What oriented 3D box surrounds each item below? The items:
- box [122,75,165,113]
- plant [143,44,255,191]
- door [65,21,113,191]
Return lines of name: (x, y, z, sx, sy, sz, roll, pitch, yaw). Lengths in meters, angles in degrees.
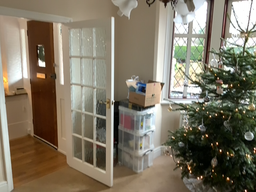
box: (0.220, -0.050, 3.050, 0.450, 0.430, 0.410, 12, 15, 42)
plant: (1.200, 0.280, 2.700, 1.520, 1.770, 1.230, 12, 16, 42)
door: (-0.510, 0.160, 2.710, 0.770, 2.070, 0.080, 11, 15, 39)
